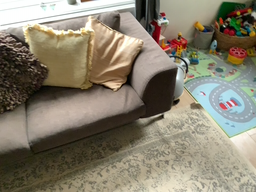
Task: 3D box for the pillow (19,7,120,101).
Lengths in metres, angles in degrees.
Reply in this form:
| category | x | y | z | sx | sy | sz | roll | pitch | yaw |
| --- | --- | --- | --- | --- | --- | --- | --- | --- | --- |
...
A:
| category | x | y | z | sx | sy | sz | roll | pitch | yaw |
| --- | --- | --- | --- | --- | --- | --- | --- | --- | --- |
| pillow | -0.400 | -0.270 | 1.490 | 0.540 | 0.390 | 0.170 | -35 | 47 | 9 |
